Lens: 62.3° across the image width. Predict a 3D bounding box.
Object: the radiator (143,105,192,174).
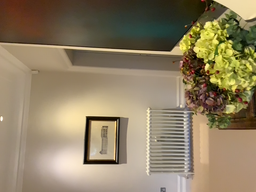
[{"bbox_3d":[0.670,0.720,3.610,0.180,0.780,1.120,141,131,-82],"label":"radiator"}]
